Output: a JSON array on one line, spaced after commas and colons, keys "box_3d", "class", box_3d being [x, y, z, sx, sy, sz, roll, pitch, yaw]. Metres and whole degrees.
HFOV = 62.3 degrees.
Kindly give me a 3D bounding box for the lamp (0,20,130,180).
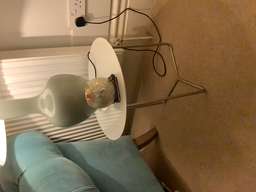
[{"box_3d": [-0.430, -0.030, 0.770, 0.520, 0.680, 0.330, 48, 140, 46], "class": "lamp"}]
